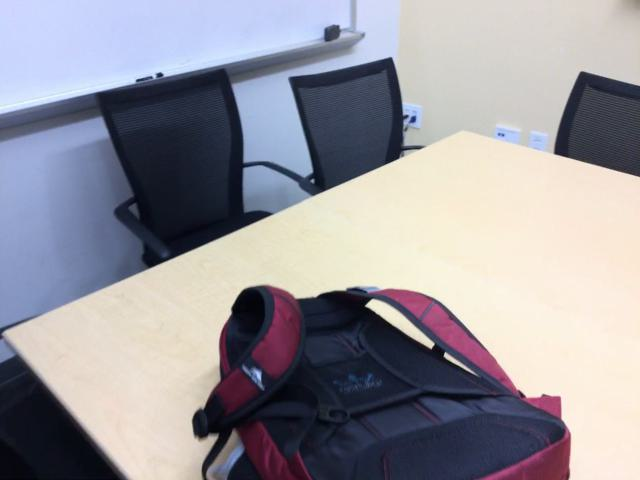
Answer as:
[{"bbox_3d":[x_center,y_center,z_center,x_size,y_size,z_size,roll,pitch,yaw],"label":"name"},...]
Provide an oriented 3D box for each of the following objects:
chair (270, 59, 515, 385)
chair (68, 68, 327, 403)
[{"bbox_3d":[0.240,-0.100,1.950,0.510,0.870,0.540,-25,33,-37],"label":"chair"},{"bbox_3d":[-0.350,-0.050,1.860,0.530,0.860,0.460,-25,33,-37],"label":"chair"}]
